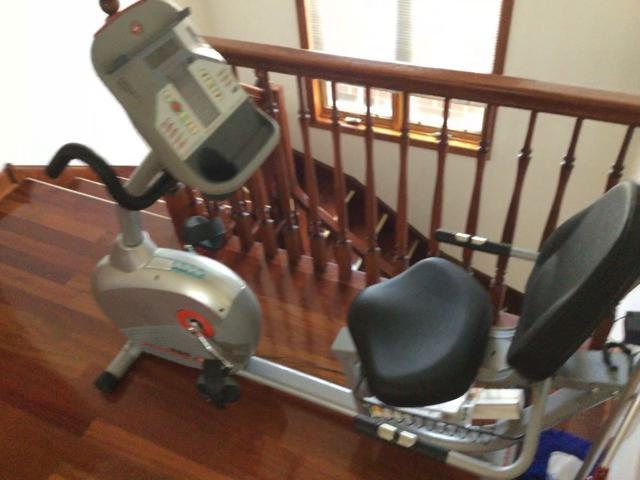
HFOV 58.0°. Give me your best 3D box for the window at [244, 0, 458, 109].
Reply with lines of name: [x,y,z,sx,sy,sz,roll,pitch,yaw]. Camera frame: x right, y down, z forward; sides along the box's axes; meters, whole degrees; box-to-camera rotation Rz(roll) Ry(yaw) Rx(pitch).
window: [0.170,-1.350,3.280,1.180,1.020,0.280,11,38,14]
